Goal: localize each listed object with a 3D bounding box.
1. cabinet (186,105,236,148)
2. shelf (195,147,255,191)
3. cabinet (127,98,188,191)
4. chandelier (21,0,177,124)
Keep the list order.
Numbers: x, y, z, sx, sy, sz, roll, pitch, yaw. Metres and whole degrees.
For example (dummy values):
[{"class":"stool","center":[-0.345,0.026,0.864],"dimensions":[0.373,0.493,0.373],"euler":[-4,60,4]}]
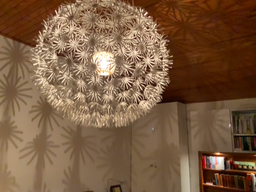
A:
[{"class":"cabinet","center":[1.340,0.510,3.440],"dimensions":[0.620,0.630,0.430],"euler":[-7,-14,34]},{"class":"shelf","center":[1.980,1.300,3.190],"dimensions":[1.840,0.990,0.200],"euler":[-7,-14,34]},{"class":"cabinet","center":[0.510,1.270,3.870],"dimensions":[1.030,2.340,0.390],"euler":[-8,-14,35]},{"class":"chandelier","center":[-0.200,-0.380,1.540],"dimensions":[0.770,1.080,0.810],"euler":[3,-12,-13]}]
